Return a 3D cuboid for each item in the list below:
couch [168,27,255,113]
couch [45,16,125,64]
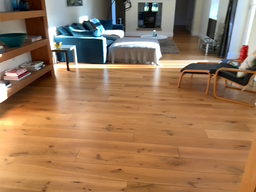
[{"bbox_3d":[1.480,-0.510,3.410,1.410,0.990,0.660,21,31,37],"label":"couch"},{"bbox_3d":[-1.030,-1.920,6.600,1.360,0.850,3.590,4,24,6],"label":"couch"}]
